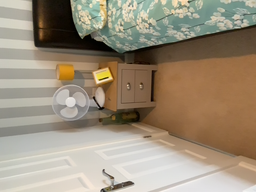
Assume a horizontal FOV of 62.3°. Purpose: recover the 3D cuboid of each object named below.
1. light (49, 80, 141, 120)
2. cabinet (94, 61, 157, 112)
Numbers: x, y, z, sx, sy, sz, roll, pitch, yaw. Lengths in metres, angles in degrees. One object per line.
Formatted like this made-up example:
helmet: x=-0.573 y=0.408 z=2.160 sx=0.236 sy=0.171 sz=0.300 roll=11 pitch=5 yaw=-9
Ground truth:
light: x=-0.320 y=0.010 z=2.200 sx=0.250 sy=0.910 sz=0.340 roll=15 pitch=105 yaw=58
cabinet: x=-0.040 y=-0.110 z=2.200 sx=0.460 sy=0.480 sz=0.460 roll=9 pitch=100 yaw=59
